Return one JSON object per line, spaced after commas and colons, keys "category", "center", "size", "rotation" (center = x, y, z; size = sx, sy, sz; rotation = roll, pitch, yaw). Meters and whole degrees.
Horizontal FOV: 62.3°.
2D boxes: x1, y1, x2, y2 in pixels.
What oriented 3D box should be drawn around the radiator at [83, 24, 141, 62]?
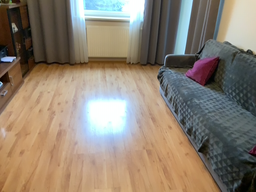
{"category": "radiator", "center": [-0.330, -1.050, 4.300], "size": [1.120, 0.720, 0.120], "rotation": [-1, 27, -9]}
